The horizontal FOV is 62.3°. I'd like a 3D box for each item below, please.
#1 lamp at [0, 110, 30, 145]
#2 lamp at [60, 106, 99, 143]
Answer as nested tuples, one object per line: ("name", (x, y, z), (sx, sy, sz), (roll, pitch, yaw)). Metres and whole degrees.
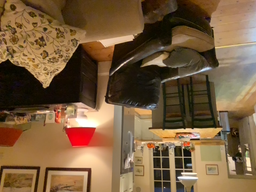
("lamp", (-1.810, 0.490, 3.160), (0.460, 0.460, 0.370), (-4, 164, 14))
("lamp", (-0.630, 0.400, 2.850), (0.370, 0.440, 0.360), (-4, 164, 13))
